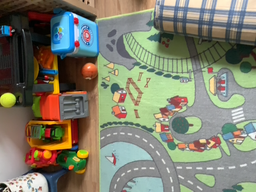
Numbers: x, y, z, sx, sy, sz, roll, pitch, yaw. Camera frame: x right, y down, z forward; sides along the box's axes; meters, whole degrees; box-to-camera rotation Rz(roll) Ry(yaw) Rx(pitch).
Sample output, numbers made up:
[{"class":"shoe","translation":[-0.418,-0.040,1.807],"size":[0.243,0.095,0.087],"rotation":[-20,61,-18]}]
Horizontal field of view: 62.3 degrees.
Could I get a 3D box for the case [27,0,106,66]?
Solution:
[{"class":"case","translation":[-0.350,-0.340,1.220],"size":[0.310,0.250,0.240],"rotation":[-14,87,28]}]
